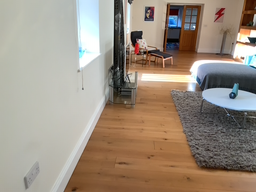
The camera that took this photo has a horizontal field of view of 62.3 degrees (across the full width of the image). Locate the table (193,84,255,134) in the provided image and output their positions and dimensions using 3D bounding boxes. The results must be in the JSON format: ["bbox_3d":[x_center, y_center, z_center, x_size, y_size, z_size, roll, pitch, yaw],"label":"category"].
[{"bbox_3d":[1.580,0.160,3.170,0.950,0.370,0.910,3,21,4],"label":"table"}]

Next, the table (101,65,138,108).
[{"bbox_3d":[-0.120,-0.230,3.960,0.530,0.450,1.120,4,21,4],"label":"table"}]
